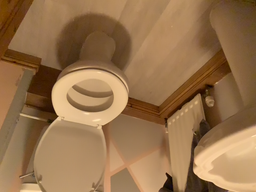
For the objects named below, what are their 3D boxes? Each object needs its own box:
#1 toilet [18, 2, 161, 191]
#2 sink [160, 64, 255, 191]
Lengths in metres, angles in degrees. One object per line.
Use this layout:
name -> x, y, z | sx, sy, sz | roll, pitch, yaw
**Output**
toilet -> -0.220, 0.100, 1.140 | 0.440, 0.800, 0.690 | 16, 142, -19
sink -> 0.460, 0.140, 0.670 | 0.470, 0.170, 0.580 | 16, 142, -18
